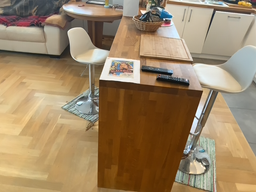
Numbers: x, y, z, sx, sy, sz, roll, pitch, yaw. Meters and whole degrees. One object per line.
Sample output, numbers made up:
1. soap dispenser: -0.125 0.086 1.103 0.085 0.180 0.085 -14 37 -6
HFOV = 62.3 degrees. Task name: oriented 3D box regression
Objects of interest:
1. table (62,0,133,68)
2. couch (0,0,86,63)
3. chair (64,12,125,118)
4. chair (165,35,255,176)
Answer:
1. table: -0.430 -1.060 3.460 0.900 0.750 1.010 6 33 0
2. couch: -1.880 -1.350 3.450 2.120 0.970 1.130 7 33 2
3. chair: -0.320 -0.300 2.180 0.470 0.930 0.450 6 33 0
4. chair: 0.630 0.110 1.620 0.460 1.000 0.390 5 33 -1
